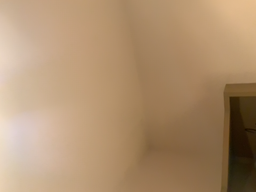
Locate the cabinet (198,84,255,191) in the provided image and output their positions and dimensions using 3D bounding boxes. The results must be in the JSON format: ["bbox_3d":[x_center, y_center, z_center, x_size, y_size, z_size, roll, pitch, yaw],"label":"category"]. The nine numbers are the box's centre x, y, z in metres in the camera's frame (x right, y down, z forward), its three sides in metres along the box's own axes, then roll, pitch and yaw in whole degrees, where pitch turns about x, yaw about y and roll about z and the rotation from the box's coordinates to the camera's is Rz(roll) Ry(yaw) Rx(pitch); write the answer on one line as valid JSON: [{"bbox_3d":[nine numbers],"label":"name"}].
[{"bbox_3d":[0.710,0.270,0.980,0.380,0.650,0.560,33,-119,-56],"label":"cabinet"}]
